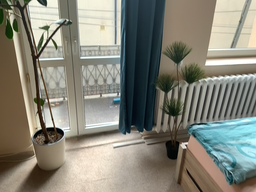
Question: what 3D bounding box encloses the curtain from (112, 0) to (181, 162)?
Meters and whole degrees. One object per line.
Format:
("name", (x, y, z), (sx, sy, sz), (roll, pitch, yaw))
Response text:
("curtain", (0.150, -0.690, 1.830), (0.500, 2.950, 0.260), (-2, 25, -11))
